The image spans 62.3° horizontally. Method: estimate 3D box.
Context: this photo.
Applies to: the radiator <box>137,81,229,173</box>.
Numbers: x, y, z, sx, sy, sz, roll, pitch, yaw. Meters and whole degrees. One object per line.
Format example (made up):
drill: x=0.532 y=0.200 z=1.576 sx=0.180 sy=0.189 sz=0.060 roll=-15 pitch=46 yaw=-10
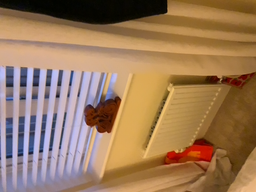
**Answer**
radiator: x=0.340 y=0.180 z=1.320 sx=0.100 sy=0.470 sz=0.550 roll=42 pitch=126 yaw=46
